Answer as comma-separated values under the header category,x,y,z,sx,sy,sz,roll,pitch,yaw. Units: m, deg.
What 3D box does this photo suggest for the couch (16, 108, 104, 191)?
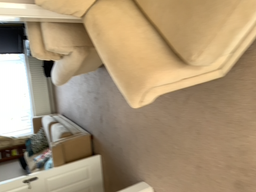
category,x,y,z,sx,sy,sz,roll,pitch,yaw
couch,-1.410,0.990,4.010,2.280,0.940,1.050,12,108,58

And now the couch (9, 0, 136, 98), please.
category,x,y,z,sx,sy,sz,roll,pitch,yaw
couch,-0.670,-0.730,2.230,1.020,0.850,1.200,-23,78,59
